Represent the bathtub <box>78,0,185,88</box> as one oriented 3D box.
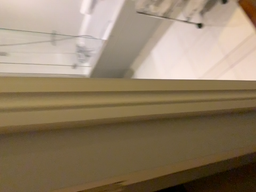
[{"bbox_3d":[-0.080,-0.910,2.740,1.830,0.570,0.750,-51,49,49],"label":"bathtub"}]
